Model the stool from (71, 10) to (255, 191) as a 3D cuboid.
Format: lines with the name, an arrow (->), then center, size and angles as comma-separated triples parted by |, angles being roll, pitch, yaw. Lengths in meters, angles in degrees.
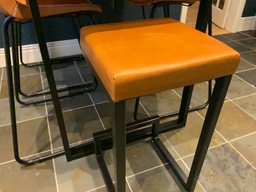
stool -> 0.060, 0.090, 0.830 | 0.400, 0.690, 0.400 | -12, 38, -17
